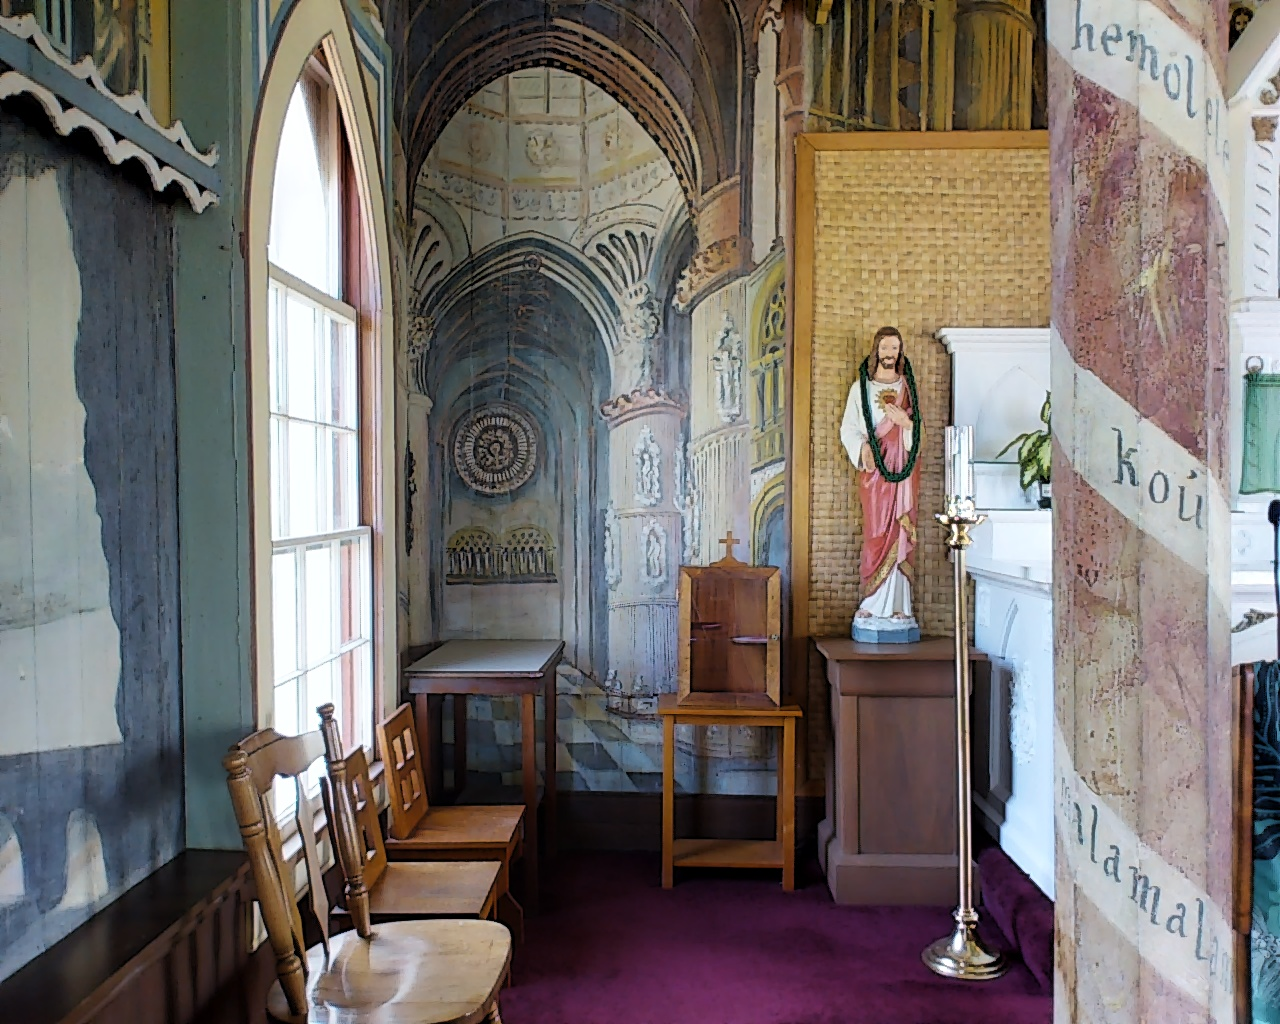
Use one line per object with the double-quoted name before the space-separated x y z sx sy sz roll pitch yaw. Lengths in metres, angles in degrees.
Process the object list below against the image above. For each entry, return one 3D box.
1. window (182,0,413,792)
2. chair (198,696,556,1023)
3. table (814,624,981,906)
"window" -0.810 -0.360 2.720 0.190 1.851 1.040 0 1 3
"chair" -0.460 0.850 2.070 0.550 0.890 0.540 0 1 1
"table" 0.870 0.840 3.720 0.470 0.840 0.510 0 1 3
